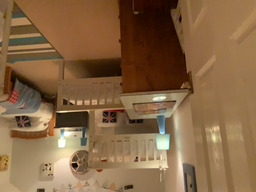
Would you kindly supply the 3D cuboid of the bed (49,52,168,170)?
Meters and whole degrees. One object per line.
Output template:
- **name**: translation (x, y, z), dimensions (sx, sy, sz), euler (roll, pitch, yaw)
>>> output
- **bed**: translation (-0.210, 0.410, 3.830), dimensions (1.470, 1.500, 2.160), euler (-3, 166, 3)

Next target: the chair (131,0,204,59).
- **chair**: translation (0.220, -0.640, 1.430), dimensions (0.390, 0.640, 0.390), euler (-3, 166, 3)
